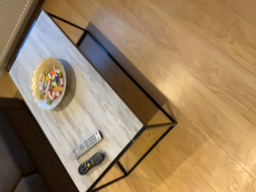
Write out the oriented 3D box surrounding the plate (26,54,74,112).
[{"bbox_3d":[-0.440,-0.080,1.180,0.290,0.050,0.300,6,90,31],"label":"plate"}]
